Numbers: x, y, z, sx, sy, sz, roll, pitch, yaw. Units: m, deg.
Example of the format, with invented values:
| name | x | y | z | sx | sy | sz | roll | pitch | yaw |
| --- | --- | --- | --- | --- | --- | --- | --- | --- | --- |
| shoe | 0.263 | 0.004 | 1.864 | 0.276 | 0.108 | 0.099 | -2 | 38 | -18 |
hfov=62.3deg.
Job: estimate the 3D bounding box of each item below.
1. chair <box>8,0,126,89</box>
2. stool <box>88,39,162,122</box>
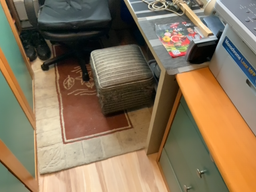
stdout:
| name | x | y | z | sx | sy | sz | roll | pitch | yaw |
| --- | --- | --- | --- | --- | --- | --- | --- | --- | --- |
| chair | -0.410 | -0.640 | 1.630 | 0.630 | 0.800 | 0.760 | -8 | 52 | -10 |
| stool | -0.040 | -0.110 | 1.500 | 0.390 | 0.380 | 0.370 | -11 | 53 | -12 |
